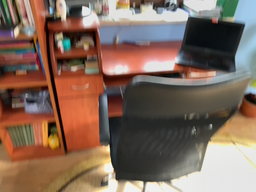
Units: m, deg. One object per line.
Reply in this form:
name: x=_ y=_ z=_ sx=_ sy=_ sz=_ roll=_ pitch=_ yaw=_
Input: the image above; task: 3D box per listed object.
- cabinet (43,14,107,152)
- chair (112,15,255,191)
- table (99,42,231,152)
cabinet: x=-0.360 y=-0.070 z=1.610 sx=0.330 sy=0.950 sz=0.420 roll=-6 pitch=37 yaw=-11
chair: x=0.150 y=0.160 z=1.260 sx=0.480 sy=1.040 sz=0.680 roll=-1 pitch=37 yaw=-5
table: x=0.230 y=-0.010 z=1.780 sx=0.870 sy=0.700 sz=0.470 roll=-6 pitch=37 yaw=-11
